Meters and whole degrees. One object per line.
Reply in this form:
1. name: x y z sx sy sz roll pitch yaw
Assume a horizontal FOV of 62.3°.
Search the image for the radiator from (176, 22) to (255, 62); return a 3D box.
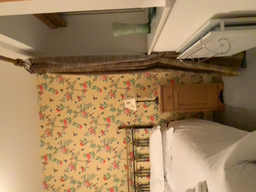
1. radiator: 0.770 -0.370 1.610 0.980 0.600 0.070 -64 -28 -89
